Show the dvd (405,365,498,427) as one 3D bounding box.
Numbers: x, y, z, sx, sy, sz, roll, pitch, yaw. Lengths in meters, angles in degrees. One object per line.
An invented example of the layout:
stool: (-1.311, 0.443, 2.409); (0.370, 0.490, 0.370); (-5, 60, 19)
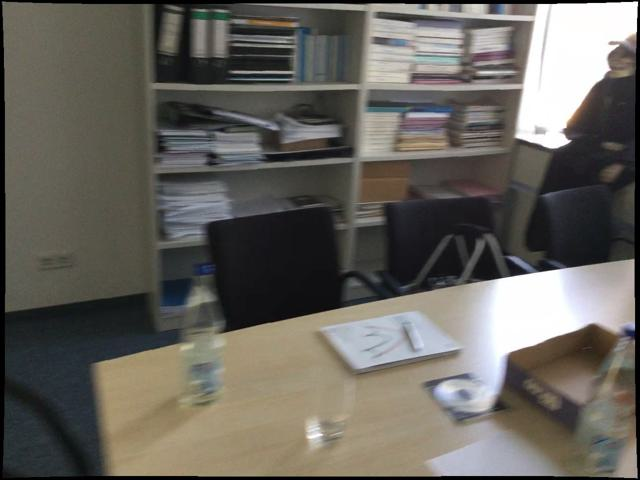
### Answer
dvd: (0.270, 0.320, 1.200); (0.130, 0.020, 0.140); (-8, 25, -22)

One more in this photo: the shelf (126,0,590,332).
shelf: (0.240, -0.801, 2.870); (2.188, 2.172, 0.500); (-8, 25, -21)
